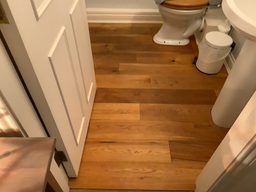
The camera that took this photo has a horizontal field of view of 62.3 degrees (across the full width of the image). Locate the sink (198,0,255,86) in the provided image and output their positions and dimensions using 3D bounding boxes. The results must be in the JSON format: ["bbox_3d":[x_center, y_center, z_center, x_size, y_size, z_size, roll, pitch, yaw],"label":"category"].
[{"bbox_3d":[0.620,-0.330,0.950,0.440,0.200,0.610,2,48,0],"label":"sink"}]
